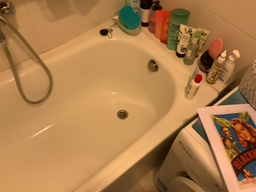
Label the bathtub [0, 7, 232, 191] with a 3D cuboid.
[{"bbox_3d":[-0.310,0.220,1.070,1.430,0.550,0.680,-33,64,-21],"label":"bathtub"}]

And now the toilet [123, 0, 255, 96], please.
[{"bbox_3d":[0.240,-0.300,1.000,0.170,0.200,0.620,-35,64,-22],"label":"toilet"}]
